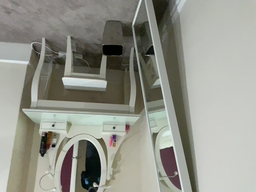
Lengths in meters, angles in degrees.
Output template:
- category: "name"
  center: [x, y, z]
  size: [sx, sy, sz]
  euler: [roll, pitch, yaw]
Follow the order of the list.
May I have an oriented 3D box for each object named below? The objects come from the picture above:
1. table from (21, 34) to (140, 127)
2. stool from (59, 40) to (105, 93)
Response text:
- category: "table"
  center: [-0.440, -0.120, 2.220]
  size: [1.010, 0.760, 0.530]
  euler: [2, 160, -9]
- category: "stool"
  center: [-0.450, -0.290, 2.160]
  size: [0.410, 0.460, 0.230]
  euler: [2, 160, -9]
